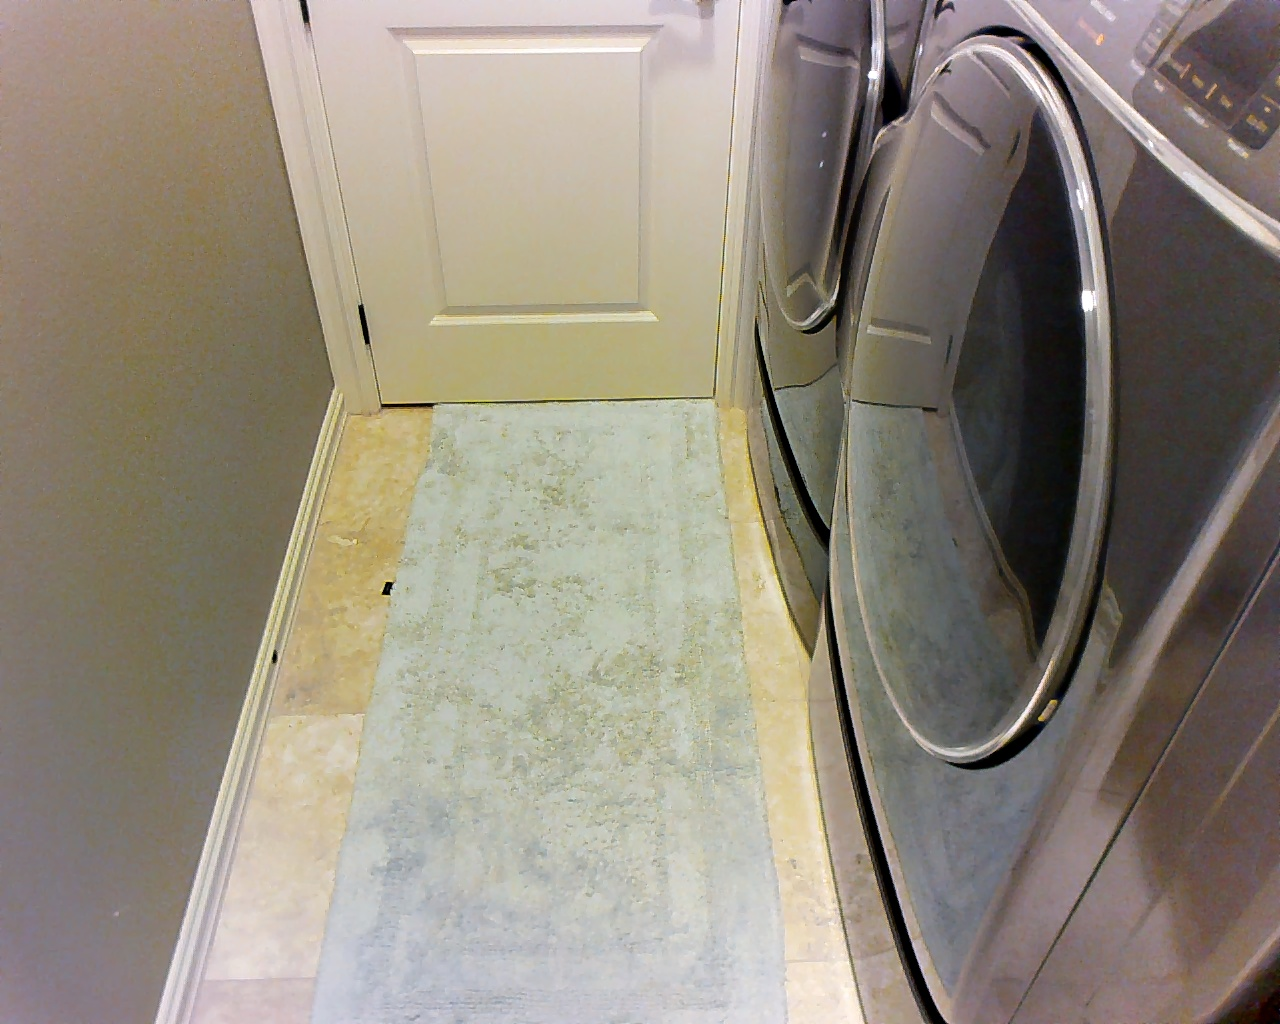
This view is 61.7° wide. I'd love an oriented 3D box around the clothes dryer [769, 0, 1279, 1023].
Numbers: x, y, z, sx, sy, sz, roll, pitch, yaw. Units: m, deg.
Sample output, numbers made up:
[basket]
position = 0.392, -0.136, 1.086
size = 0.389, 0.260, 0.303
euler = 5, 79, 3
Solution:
[clothes dryer]
position = 0.550, 0.030, 1.140
size = 0.590, 1.380, 0.800
euler = -3, 43, -3
